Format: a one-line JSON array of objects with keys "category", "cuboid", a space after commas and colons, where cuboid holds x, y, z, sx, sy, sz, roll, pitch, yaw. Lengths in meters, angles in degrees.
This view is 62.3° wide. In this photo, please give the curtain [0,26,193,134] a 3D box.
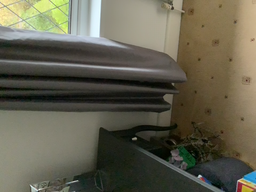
[{"category": "curtain", "cuboid": [-0.410, -0.080, 1.080, 0.270, 1.900, 0.430, 14, 102, 54]}]
